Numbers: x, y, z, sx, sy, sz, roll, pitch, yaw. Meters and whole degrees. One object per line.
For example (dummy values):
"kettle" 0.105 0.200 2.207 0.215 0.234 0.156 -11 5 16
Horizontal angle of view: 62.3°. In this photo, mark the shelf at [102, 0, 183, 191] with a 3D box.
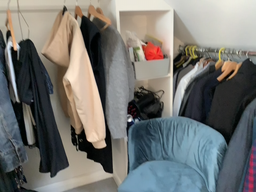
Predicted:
"shelf" 0.100 0.030 1.580 0.410 1.440 0.370 -8 18 -19
